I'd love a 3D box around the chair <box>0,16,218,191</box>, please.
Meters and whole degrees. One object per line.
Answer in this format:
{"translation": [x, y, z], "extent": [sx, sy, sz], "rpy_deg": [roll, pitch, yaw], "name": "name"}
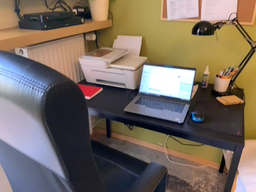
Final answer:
{"translation": [-0.160, 0.320, 0.960], "extent": [0.720, 1.200, 0.700], "rpy_deg": [16, 29, 30], "name": "chair"}
